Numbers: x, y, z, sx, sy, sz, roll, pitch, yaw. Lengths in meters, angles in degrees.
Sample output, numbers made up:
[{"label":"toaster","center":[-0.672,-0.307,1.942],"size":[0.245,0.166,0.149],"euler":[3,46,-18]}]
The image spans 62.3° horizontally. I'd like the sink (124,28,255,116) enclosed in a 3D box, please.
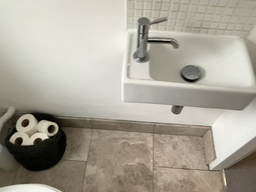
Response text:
[{"label":"sink","center":[0.190,-0.080,0.710],"size":[0.390,0.150,0.220],"euler":[4,58,1]}]
